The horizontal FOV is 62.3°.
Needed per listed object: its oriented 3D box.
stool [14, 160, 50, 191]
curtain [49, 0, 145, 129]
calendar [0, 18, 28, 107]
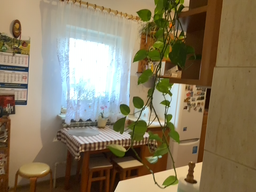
[{"bbox_3d":[-1.000,0.950,2.180,0.300,0.450,0.300,3,6,-29],"label":"stool"},{"bbox_3d":[-0.380,-0.390,2.800,1.130,1.560,0.250,2,6,-33],"label":"curtain"},{"bbox_3d":[-1.300,-0.350,2.340,0.290,0.940,0.080,2,6,-35],"label":"calendar"}]
